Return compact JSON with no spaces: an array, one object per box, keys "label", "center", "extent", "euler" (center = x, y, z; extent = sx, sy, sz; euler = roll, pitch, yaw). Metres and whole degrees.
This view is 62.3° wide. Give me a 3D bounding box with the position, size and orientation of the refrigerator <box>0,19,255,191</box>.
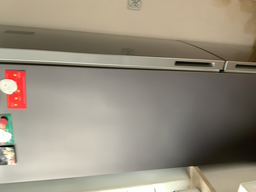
[{"label":"refrigerator","center":[0.130,0.030,1.370],"extent":[0.640,2.000,0.730],"euler":[-120,34,-61]}]
